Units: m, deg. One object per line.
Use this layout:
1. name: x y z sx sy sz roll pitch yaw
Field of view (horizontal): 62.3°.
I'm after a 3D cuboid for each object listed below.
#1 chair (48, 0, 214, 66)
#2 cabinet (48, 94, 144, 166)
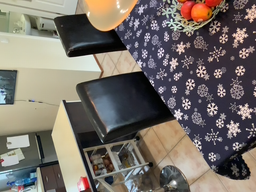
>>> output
1. chair: 0.040 -0.590 1.620 0.430 1.090 0.510 56 134 37
2. cabinet: -0.380 0.360 2.420 0.440 0.840 0.600 60 136 34
